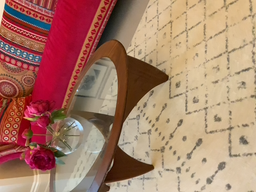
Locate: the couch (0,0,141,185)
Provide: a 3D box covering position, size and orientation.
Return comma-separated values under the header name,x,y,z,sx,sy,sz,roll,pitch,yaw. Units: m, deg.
name,x,y,z,sx,sy,sz,roll,pitch,yaw
couch,-0.760,-0.430,1.990,1.030,0.770,2.470,52,124,43
